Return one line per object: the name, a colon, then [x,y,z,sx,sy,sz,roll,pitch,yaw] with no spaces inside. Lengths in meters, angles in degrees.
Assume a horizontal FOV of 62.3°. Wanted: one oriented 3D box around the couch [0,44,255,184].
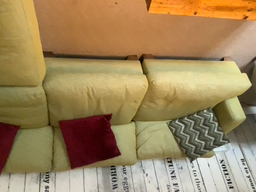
couch: [-0.340,0.230,2.030,2.730,0.760,1.200,-2,150,-14]
